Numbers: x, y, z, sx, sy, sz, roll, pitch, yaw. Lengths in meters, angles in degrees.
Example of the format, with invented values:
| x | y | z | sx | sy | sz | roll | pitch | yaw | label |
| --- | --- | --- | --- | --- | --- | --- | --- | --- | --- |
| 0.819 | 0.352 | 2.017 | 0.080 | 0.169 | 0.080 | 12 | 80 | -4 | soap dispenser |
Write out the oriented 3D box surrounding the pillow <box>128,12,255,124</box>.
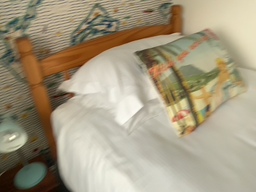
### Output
| x | y | z | sx | sy | sz | roll | pitch | yaw | label |
| --- | --- | --- | --- | --- | --- | --- | --- | --- | --- |
| 0.290 | -0.100 | 0.880 | 0.520 | 0.350 | 0.150 | -30 | 84 | -17 | pillow |
